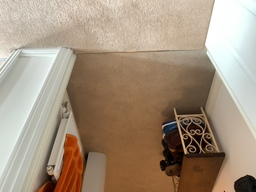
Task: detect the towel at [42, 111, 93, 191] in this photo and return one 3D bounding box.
[{"bbox_3d":[-0.340,0.580,1.320,0.110,0.670,0.710,0,131,-2],"label":"towel"}]

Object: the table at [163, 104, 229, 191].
[{"bbox_3d":[0.480,0.520,1.710,0.260,0.470,0.790,-2,131,0],"label":"table"}]
